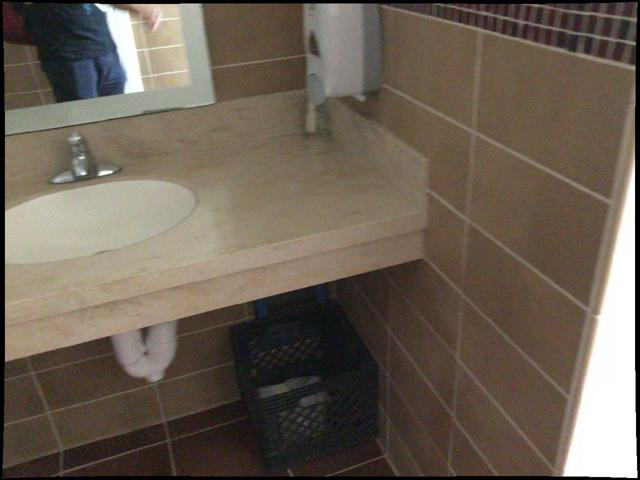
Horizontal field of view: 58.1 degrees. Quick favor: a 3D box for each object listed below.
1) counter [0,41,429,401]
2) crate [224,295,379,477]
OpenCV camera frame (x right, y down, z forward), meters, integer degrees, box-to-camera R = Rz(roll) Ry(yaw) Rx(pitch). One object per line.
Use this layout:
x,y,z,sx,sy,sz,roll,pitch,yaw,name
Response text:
-0.578,-0.040,1.140,1.467,0.381,0.580,-15,30,-15,counter
-0.060,0.421,1.740,0.349,0.291,0.350,-15,30,-15,crate
